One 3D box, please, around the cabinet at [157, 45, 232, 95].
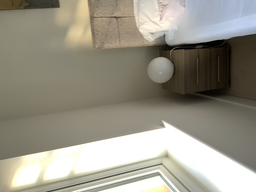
[{"bbox_3d":[0.650,-0.270,2.150,0.490,0.520,0.400,-157,60,-70],"label":"cabinet"}]
